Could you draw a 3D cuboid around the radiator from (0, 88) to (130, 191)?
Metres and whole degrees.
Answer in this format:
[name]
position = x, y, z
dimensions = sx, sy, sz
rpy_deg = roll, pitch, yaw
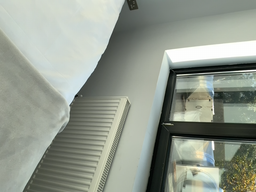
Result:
[radiator]
position = -0.460, 0.460, 1.290
dimensions = 0.080, 0.670, 1.260
rpy_deg = 63, 35, -45
